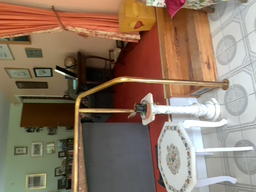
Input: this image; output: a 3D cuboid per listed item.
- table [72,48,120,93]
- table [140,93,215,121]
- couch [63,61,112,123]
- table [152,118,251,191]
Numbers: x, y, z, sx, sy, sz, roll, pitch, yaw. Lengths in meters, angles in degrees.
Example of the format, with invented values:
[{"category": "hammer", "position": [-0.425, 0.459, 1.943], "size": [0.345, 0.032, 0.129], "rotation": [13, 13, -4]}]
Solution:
[{"category": "table", "position": [-0.570, -0.400, 3.610], "size": [0.610, 0.710, 0.540], "rotation": [139, 130, -66]}, {"category": "table", "position": [0.410, 0.100, 1.750], "size": [0.170, 0.600, 0.200], "rotation": [157, 113, -70]}, {"category": "couch", "position": [-0.930, 0.010, 4.520], "size": [1.450, 0.820, 0.950], "rotation": [142, 128, -67]}, {"category": "table", "position": [0.510, 0.440, 1.600], "size": [0.510, 0.470, 0.530], "rotation": [157, 113, -70]}]
